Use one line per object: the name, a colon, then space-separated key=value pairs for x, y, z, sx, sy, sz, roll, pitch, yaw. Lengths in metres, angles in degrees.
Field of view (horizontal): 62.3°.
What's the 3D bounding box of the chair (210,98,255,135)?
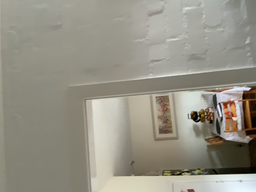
chair: x=1.820 y=0.290 z=3.310 sx=0.600 sy=0.860 sz=0.470 roll=-3 pitch=-91 yaw=-80
